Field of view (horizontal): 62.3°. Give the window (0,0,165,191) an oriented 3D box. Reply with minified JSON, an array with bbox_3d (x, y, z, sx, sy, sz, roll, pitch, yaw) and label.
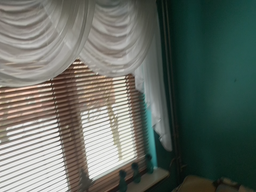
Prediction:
[{"bbox_3d":[-0.420,0.050,1.570,1.740,1.890,0.210,-14,11,-42],"label":"window"}]
